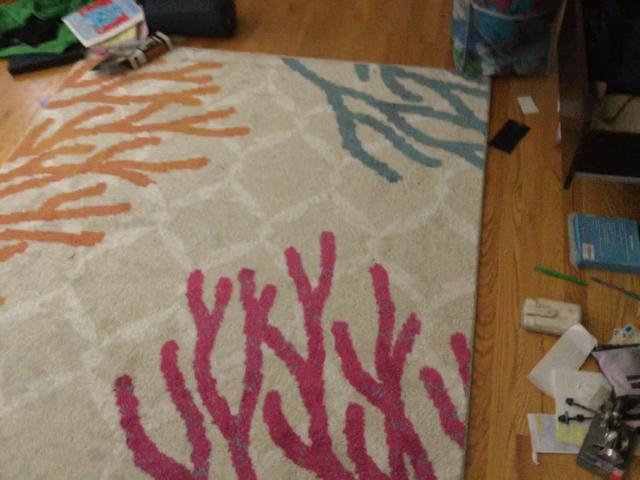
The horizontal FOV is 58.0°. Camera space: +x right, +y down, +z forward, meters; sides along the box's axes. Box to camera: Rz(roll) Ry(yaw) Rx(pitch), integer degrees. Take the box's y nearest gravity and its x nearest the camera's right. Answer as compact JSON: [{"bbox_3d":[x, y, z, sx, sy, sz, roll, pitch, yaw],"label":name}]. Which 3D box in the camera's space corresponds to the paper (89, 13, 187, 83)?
[{"bbox_3d":[-0.710,-0.760,2.270,0.220,0.060,0.300,27,59,21],"label":"paper"}]

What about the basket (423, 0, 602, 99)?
[{"bbox_3d":[0.640,-0.890,1.890,0.480,0.620,0.480,9,54,10],"label":"basket"}]
